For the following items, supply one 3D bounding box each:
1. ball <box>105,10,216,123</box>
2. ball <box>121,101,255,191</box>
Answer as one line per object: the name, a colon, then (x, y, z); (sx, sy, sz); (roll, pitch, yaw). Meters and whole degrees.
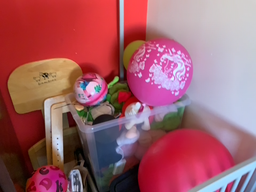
ball: (0.120, -0.190, 1.100); (0.310, 0.390, 0.460); (-15, 36, -24)
ball: (0.240, 0.360, 0.990); (0.430, 0.470, 0.360); (-15, 36, -24)
